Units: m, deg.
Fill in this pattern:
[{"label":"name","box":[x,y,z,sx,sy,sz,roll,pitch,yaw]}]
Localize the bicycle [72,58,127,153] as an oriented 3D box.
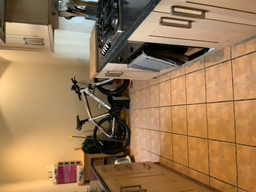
[{"label":"bicycle","box":[-0.580,0.180,4.200,0.550,0.980,1.700,172,98,-72]}]
